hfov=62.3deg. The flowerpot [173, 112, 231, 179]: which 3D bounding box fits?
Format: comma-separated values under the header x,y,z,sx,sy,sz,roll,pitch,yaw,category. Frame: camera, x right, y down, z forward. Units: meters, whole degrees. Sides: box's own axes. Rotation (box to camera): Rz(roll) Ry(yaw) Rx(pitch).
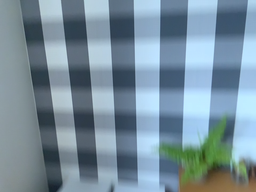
x,y,z,sx,sy,sz,roll,pitch,yaw,category
0.370,0.250,1.110,0.250,0.290,0.160,1,16,10,flowerpot
